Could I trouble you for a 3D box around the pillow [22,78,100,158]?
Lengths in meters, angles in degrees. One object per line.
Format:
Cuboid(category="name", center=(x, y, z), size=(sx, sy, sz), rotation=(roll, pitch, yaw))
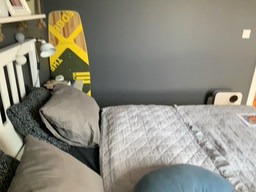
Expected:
Cuboid(category="pillow", center=(-0.410, 0.110, 1.480), size=(0.410, 0.310, 0.570), rotation=(-1, 23, -9))
